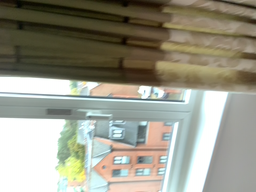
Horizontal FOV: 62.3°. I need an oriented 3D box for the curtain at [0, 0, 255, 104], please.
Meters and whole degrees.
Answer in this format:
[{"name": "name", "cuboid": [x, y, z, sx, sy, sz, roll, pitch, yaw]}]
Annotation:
[{"name": "curtain", "cuboid": [0.310, -0.230, 0.830, 0.110, 2.240, 0.490, -124, 39, -67]}]
